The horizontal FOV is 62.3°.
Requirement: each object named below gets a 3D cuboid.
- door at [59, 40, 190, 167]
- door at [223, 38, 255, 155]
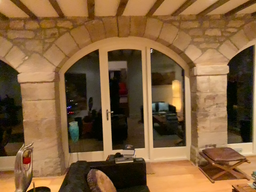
[{"bbox_3d":[-0.020,0.150,4.140,2.430,2.350,0.120,-2,5,-3],"label":"door"},{"bbox_3d":[3.080,-0.010,4.400,2.250,2.320,0.160,-2,5,-6],"label":"door"}]
